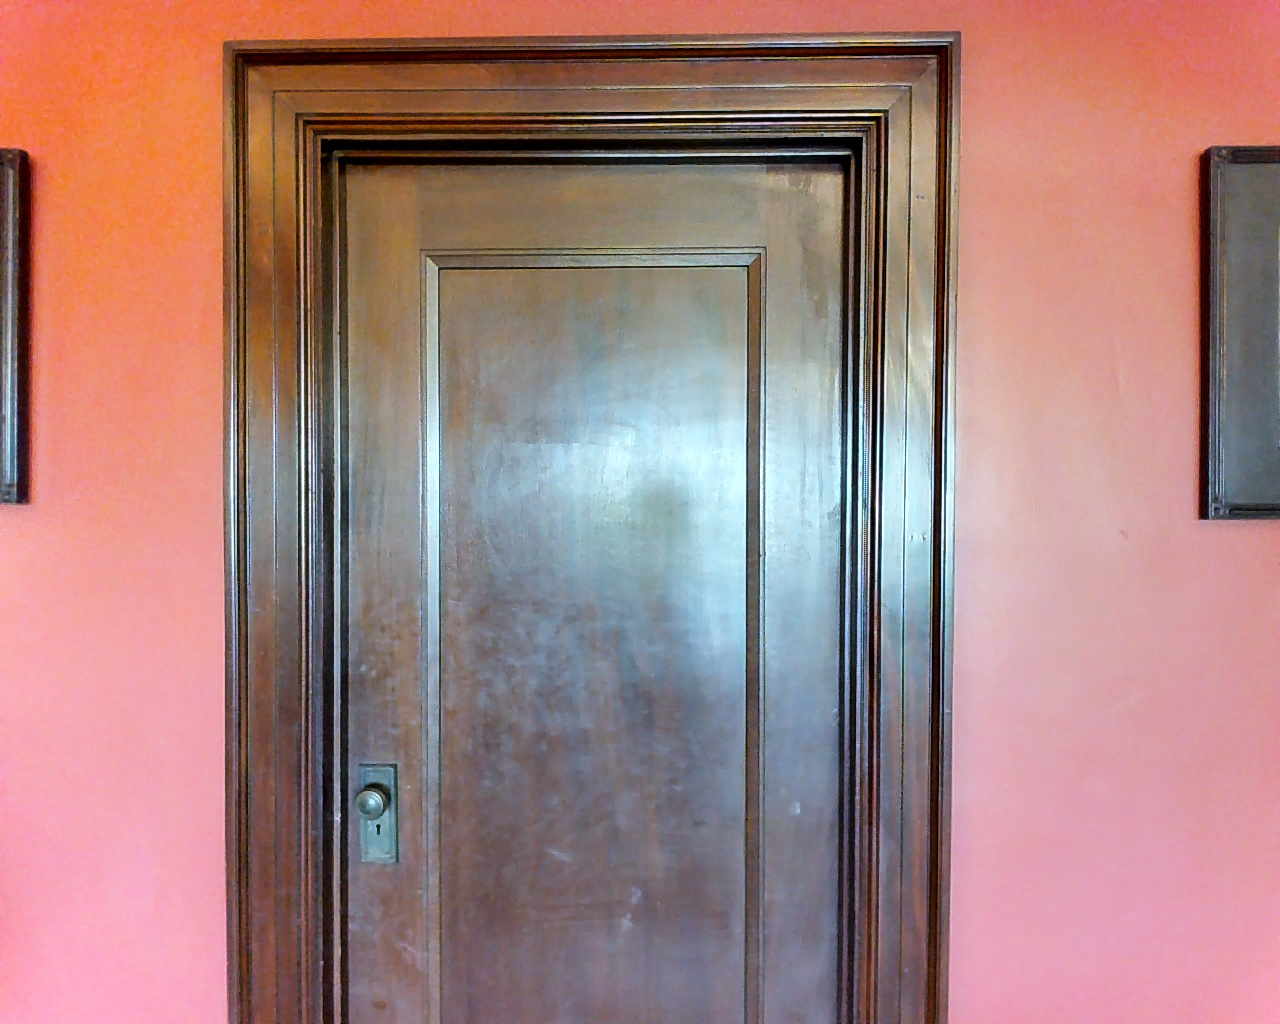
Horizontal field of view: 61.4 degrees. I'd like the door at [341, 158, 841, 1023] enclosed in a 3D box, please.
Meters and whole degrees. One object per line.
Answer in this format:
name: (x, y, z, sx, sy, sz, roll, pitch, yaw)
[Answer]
door: (-0.090, 0.460, 1.890, 0.850, 2.120, 0.090, 0, 1, 3)
